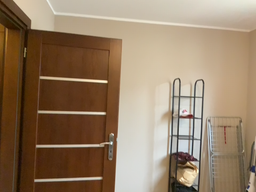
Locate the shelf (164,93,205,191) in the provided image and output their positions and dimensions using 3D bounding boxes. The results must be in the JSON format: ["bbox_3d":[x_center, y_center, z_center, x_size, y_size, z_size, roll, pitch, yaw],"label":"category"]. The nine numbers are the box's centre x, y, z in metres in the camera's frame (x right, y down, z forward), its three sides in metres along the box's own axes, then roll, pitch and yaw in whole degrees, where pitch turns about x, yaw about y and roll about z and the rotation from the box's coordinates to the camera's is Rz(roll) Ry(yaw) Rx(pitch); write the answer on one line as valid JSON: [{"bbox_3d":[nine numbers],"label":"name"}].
[{"bbox_3d":[0.740,0.750,2.850,0.380,1.570,0.310,3,0,-9],"label":"shelf"}]
